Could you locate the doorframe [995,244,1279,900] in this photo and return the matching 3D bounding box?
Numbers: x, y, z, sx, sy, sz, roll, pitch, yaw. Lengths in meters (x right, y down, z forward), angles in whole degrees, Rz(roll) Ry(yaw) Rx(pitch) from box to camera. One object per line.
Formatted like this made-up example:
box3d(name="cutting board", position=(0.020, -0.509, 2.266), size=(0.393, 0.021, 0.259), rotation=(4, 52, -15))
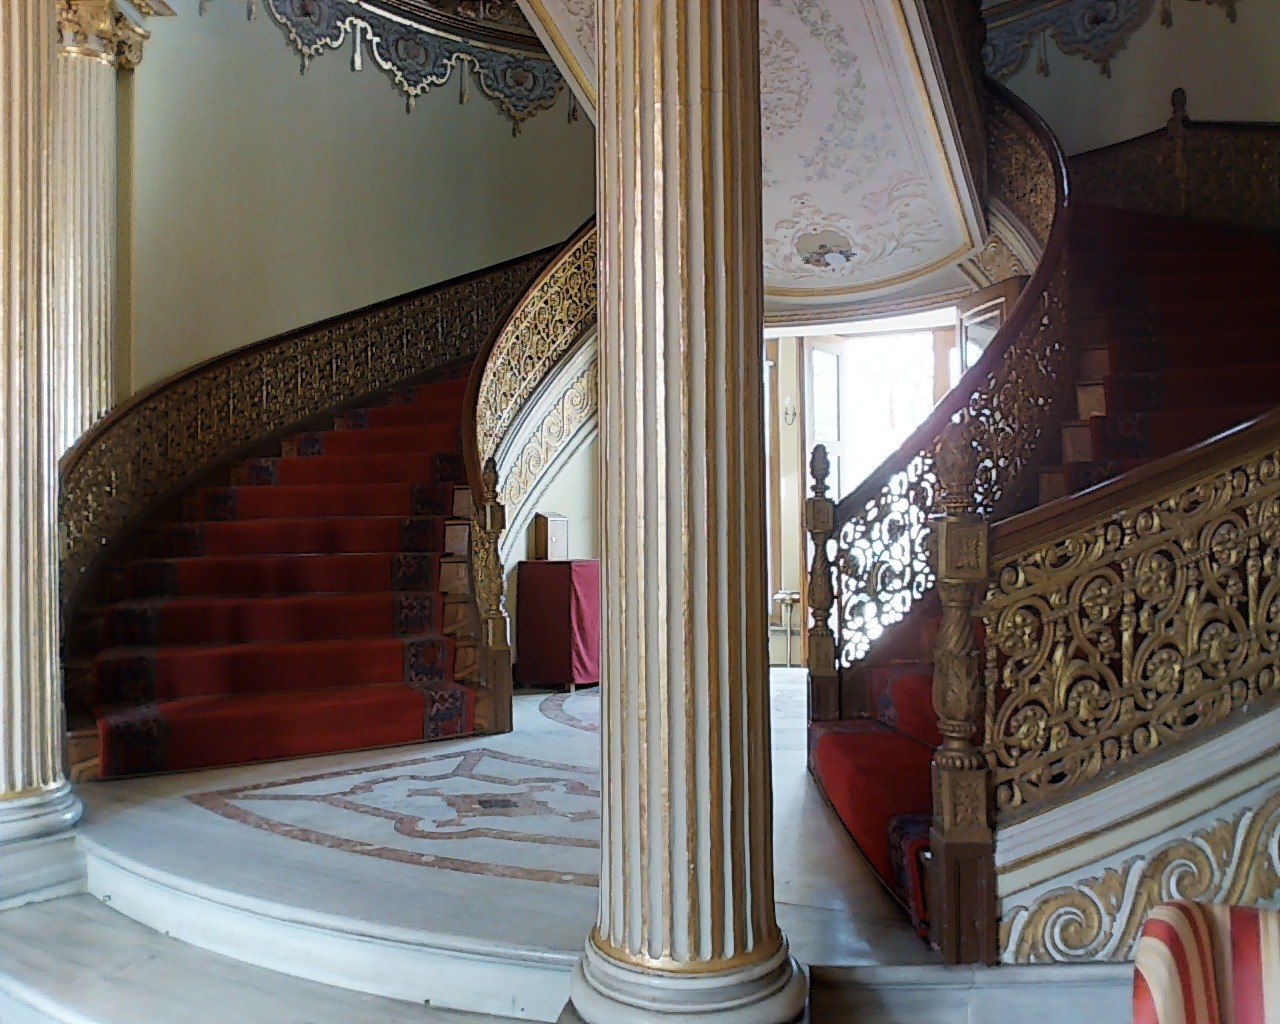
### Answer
box3d(name="doorframe", position=(2.409, 0.230, 4.650), size=(1.649, 2.581, 0.440), rotation=(0, -1, -14))
